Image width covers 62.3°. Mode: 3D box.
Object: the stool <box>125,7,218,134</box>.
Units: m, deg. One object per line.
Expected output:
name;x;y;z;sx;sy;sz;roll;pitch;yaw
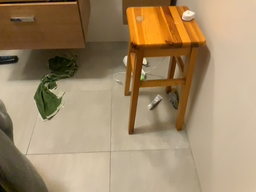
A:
stool;0.160;-0.100;1.120;0.340;0.590;0.330;-1;50;-2
